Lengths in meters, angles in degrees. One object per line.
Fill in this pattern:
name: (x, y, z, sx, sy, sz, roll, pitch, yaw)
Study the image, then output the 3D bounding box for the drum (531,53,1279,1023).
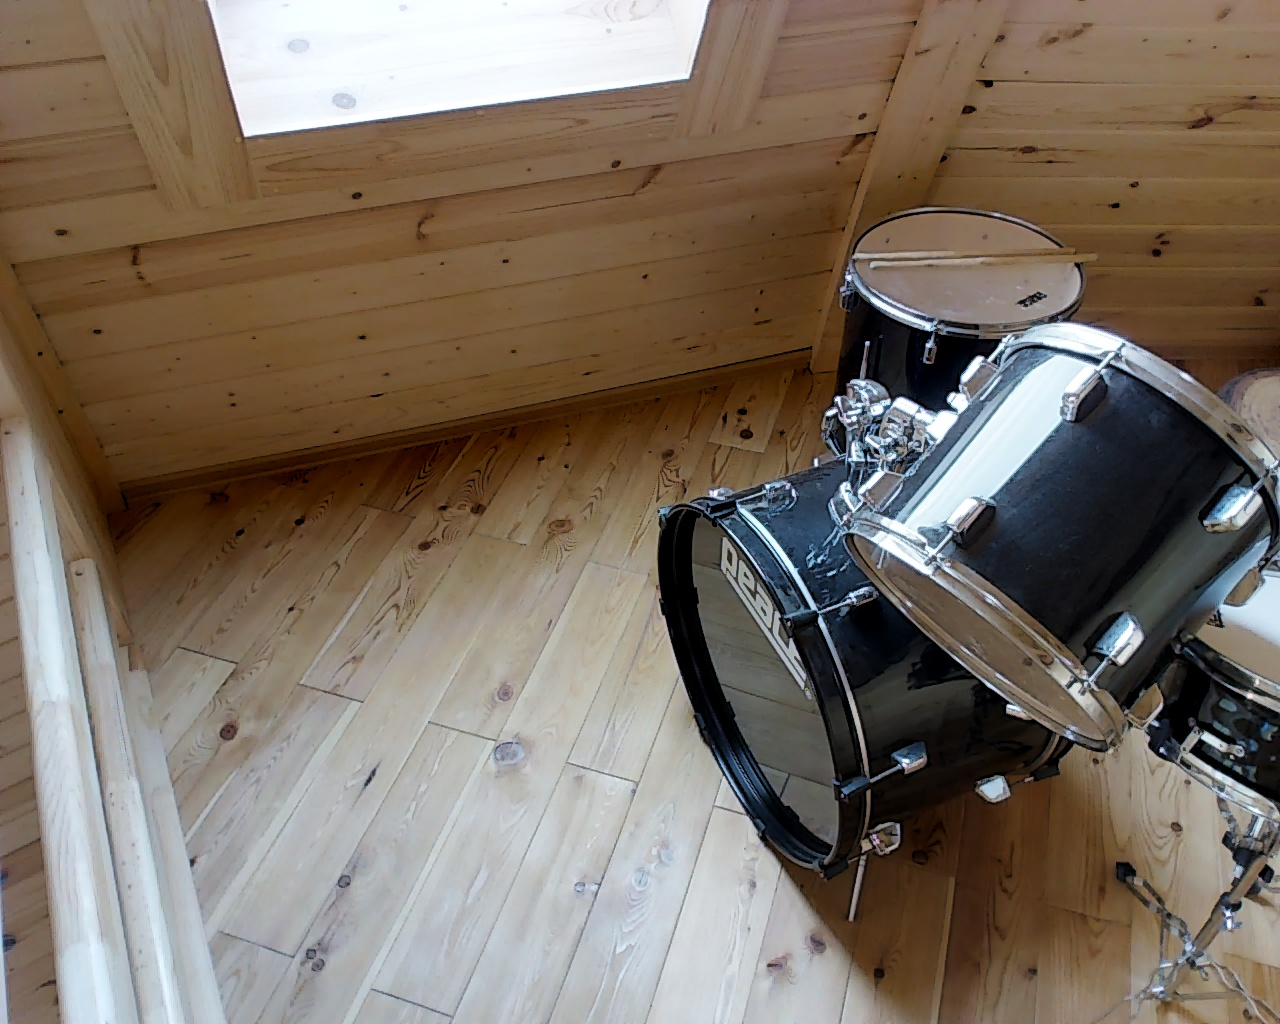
drum: (0.480, 0.130, 1.490, 0.870, 1.030, 1.090, -17, 44, -18)
